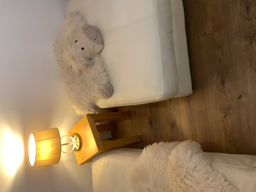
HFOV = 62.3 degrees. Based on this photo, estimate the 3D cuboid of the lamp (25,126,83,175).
[{"bbox_3d":[-0.510,0.360,1.480,0.200,0.310,0.260,-9,84,42],"label":"lamp"}]
